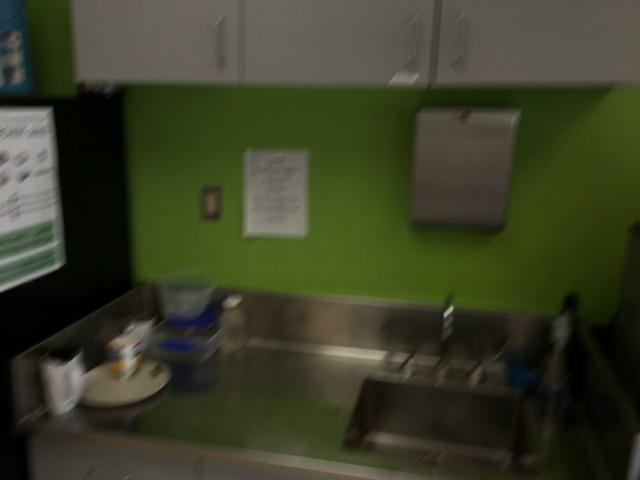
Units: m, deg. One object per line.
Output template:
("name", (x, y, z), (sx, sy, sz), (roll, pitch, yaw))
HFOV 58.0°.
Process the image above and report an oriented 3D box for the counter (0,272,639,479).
("counter", (-0.010, 0.360, 1.560), (1.470, 0.280, 0.670), (4, 11, 14))
